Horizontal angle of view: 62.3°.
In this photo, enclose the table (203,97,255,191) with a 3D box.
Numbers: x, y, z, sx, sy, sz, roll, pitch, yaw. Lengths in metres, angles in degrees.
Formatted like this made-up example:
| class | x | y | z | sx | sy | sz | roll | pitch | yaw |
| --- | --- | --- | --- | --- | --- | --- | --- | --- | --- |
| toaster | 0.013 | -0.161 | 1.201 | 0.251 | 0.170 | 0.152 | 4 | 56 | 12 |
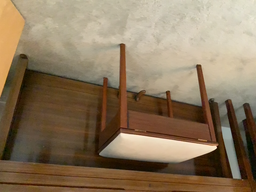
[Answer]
| class | x | y | z | sx | sy | sz | roll | pitch | yaw |
| --- | --- | --- | --- | --- | --- | --- | --- | --- | --- |
| table | 0.780 | 0.400 | 1.540 | 0.250 | 0.740 | 0.220 | 11 | 150 | -19 |
